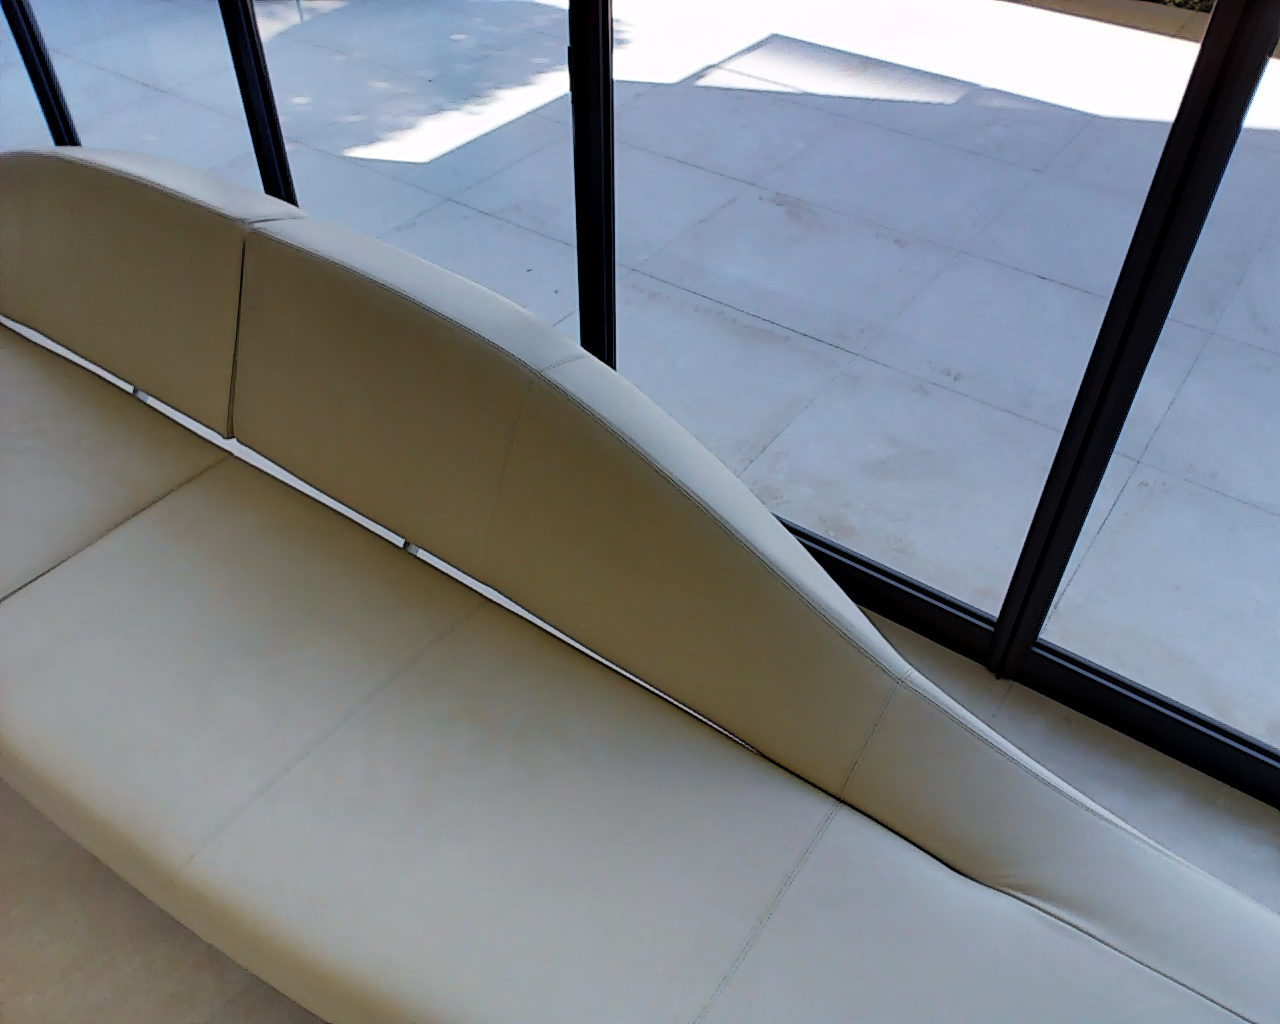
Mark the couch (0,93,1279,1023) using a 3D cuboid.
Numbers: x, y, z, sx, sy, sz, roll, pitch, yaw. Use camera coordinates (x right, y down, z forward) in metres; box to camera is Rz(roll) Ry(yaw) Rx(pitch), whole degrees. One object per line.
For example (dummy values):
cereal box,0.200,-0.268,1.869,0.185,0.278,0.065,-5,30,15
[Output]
couch,-0.810,-0.020,1.710,3.660,0.630,0.850,26,49,25
